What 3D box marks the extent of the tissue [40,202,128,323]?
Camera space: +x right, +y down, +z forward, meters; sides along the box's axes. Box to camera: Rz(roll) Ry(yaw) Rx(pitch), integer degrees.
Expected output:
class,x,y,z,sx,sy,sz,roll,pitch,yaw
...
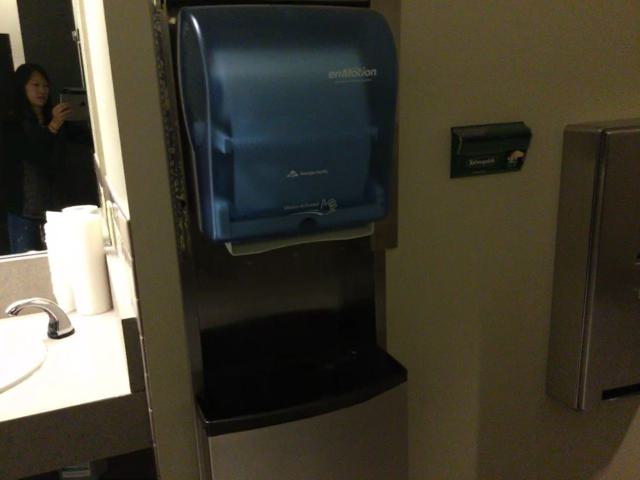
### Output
class,x,y,z,sx,sy,sz,roll,pitch,yaw
tissue,-0.640,0.050,1.580,0.170,0.270,0.230,-9,12,-20

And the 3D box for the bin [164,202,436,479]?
class,x,y,z,sx,sy,sz,roll,pitch,yaw
bin,-0.030,0.310,1.220,0.470,0.710,0.230,-9,12,-20
